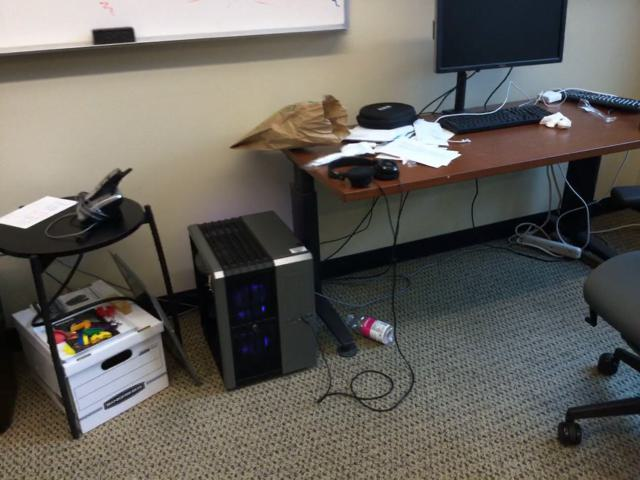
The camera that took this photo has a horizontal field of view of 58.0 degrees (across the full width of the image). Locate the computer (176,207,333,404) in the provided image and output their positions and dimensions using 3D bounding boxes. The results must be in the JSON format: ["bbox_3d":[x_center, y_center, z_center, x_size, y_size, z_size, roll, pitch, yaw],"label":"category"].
[{"bbox_3d":[-0.240,0.200,2.060,0.370,0.480,0.470,-13,22,-22],"label":"computer"}]

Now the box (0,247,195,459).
[{"bbox_3d":[-0.750,0.330,1.930,0.490,0.370,0.550,-13,22,-22],"label":"box"}]
